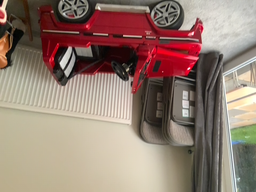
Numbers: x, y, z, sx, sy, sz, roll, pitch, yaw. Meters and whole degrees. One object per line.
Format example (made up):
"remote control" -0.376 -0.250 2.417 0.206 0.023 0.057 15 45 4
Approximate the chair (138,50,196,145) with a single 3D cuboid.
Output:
"chair" 0.430 0.020 2.360 0.570 0.960 0.200 11 159 -20
